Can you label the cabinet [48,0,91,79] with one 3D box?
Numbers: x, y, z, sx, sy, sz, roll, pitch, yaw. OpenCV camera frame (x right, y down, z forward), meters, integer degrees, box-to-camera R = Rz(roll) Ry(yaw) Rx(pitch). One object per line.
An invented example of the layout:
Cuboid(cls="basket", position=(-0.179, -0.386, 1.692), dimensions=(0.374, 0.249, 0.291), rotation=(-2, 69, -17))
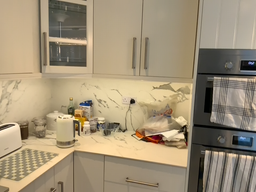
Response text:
Cuboid(cls="cabinet", position=(-0.520, -0.630, 1.890), dimensions=(0.320, 0.920, 0.530), rotation=(-1, 9, -16))
